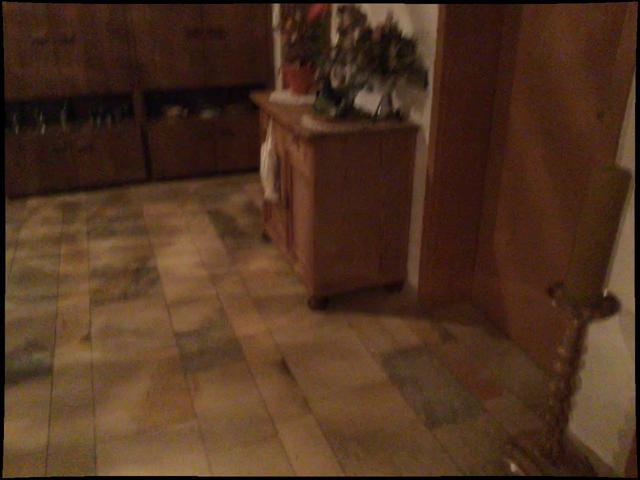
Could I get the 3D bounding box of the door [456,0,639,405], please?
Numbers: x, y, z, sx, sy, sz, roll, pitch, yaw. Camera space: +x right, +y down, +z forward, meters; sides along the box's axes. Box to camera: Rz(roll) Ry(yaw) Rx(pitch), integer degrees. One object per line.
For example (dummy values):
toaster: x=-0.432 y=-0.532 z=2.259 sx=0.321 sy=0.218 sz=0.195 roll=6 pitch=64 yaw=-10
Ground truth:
door: x=0.839 y=-0.450 z=2.050 sx=0.100 sy=1.932 sz=0.830 roll=-9 pitch=27 yaw=-18

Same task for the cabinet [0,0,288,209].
cabinet: x=-2.108 y=-1.471 z=3.700 sx=3.687 sy=2.432 sz=0.680 roll=-10 pitch=27 yaw=-18

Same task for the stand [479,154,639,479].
stand: x=0.729 y=0.280 z=1.640 sx=0.310 sy=0.961 sz=0.320 roll=-9 pitch=27 yaw=-18
